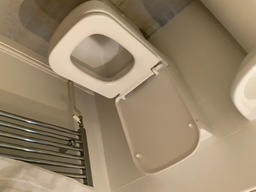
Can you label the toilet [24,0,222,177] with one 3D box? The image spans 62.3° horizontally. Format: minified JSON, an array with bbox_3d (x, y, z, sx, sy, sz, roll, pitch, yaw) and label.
[{"bbox_3d":[-0.060,-0.130,1.000,0.430,0.830,0.620,-36,141,24],"label":"toilet"}]
